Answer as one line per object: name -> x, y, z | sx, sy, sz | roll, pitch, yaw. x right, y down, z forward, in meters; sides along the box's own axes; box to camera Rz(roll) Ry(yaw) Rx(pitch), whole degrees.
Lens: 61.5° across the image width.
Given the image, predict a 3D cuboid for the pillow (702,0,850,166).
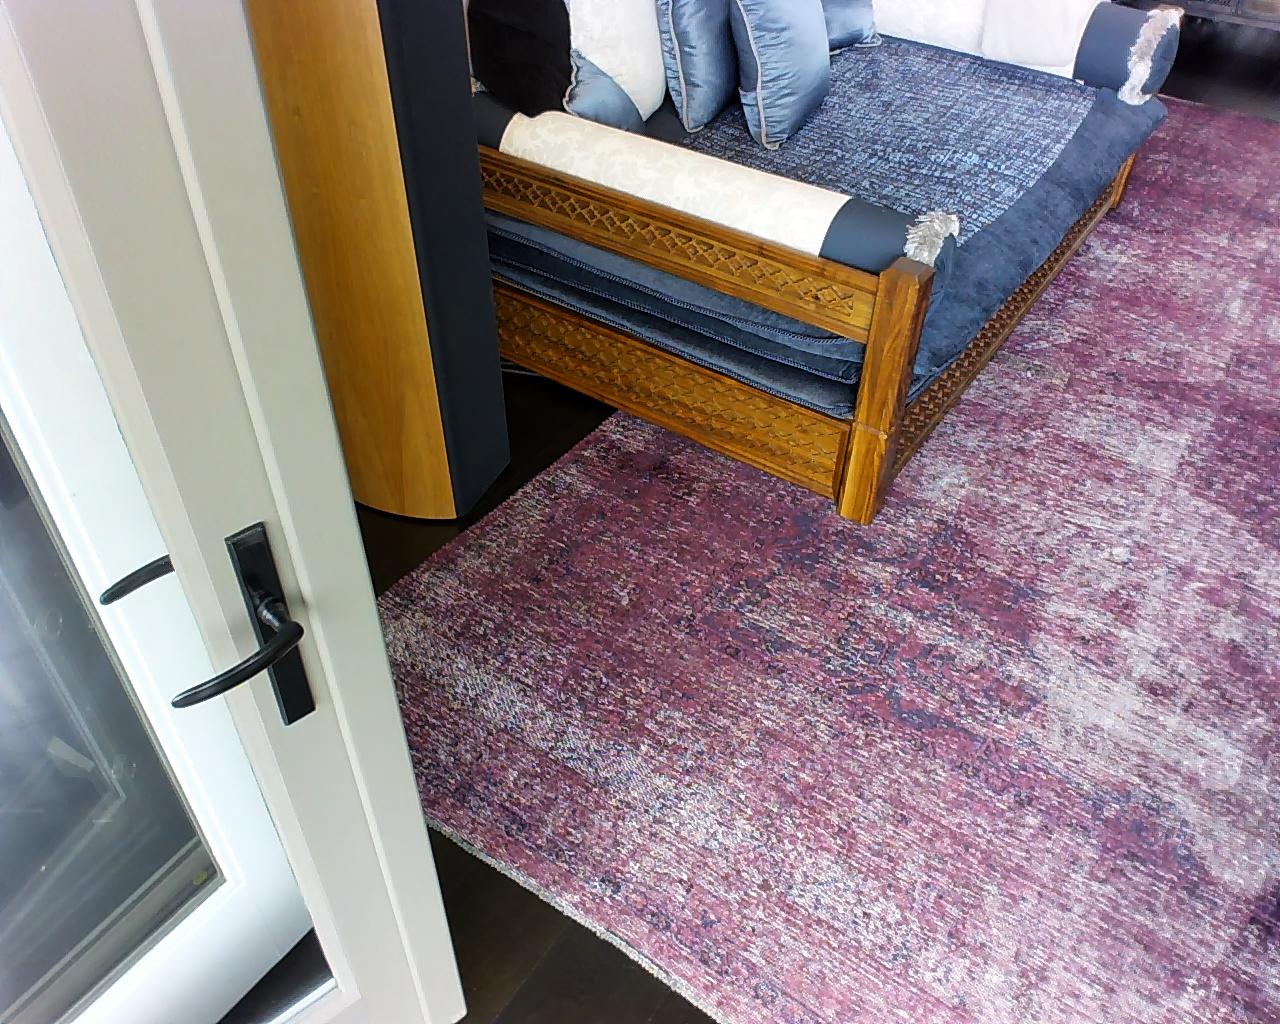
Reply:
pillow -> 0.360, -1.200, 2.740 | 0.240, 0.380, 0.470 | 6, 70, 19
